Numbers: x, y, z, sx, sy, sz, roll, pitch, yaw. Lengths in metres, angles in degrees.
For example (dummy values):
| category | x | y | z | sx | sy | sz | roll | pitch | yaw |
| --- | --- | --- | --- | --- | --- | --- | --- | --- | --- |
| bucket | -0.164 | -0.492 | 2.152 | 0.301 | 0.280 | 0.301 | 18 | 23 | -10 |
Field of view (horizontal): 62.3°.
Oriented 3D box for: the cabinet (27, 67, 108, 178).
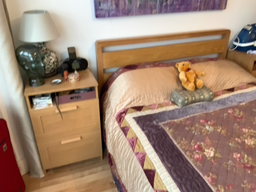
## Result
| category | x | y | z | sx | sy | sz | roll | pitch | yaw |
| --- | --- | --- | --- | --- | --- | --- | --- | --- | --- |
| cabinet | -0.510 | 0.210 | 1.860 | 0.520 | 0.760 | 0.440 | -10 | 28 | -18 |

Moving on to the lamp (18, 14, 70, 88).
| category | x | y | z | sx | sy | sz | roll | pitch | yaw |
| --- | --- | --- | --- | --- | --- | --- | --- | --- | --- |
| lamp | -0.630 | -0.350 | 1.620 | 0.260 | 0.470 | 0.290 | -11 | 29 | -19 |
